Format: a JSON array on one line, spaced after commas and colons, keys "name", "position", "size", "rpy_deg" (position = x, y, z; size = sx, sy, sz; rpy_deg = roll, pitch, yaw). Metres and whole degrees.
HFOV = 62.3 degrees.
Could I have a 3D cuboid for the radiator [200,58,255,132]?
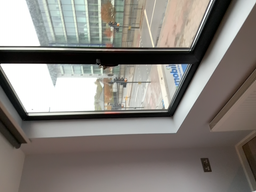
[{"name": "radiator", "position": [1.000, -0.070, 1.410], "size": [1.310, 0.550, 0.090], "rpy_deg": [100, 168, -56]}]
